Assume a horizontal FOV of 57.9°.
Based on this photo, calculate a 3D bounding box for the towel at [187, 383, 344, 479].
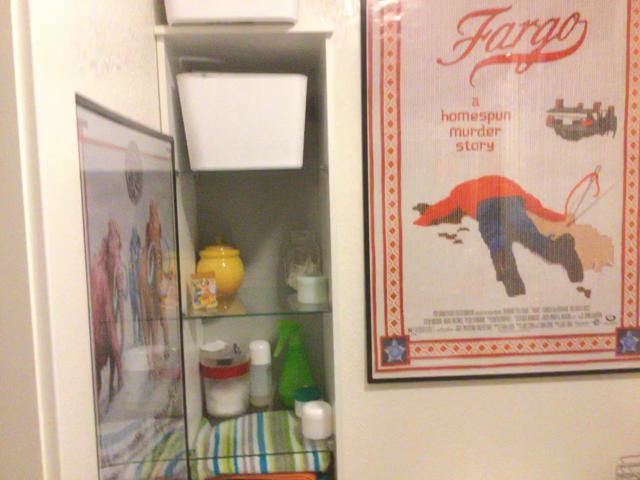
[{"bbox_3d":[-0.100,0.470,1.160,0.280,0.300,0.240,1,1,0],"label":"towel"}]
